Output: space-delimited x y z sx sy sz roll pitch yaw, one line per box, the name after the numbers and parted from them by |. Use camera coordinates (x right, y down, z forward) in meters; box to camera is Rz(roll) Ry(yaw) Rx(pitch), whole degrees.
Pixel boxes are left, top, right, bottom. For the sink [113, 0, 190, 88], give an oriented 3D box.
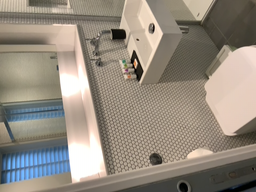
0.100 -0.470 1.440 0.430 0.160 0.710 111 146 -51 | sink
